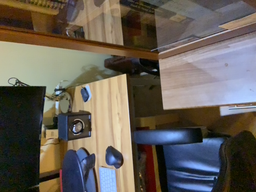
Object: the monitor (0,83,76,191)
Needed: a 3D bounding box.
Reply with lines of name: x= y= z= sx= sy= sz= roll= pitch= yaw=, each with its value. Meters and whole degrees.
monitor: x=-0.580 y=0.240 z=1.190 sx=0.040 sy=0.540 sz=0.630 roll=23 pitch=109 yaw=47
